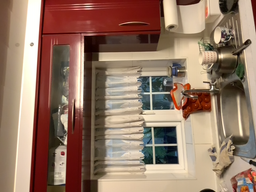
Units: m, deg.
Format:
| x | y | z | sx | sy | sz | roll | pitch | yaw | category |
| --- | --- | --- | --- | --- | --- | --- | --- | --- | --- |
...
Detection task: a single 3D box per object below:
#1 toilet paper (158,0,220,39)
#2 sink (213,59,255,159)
| x | y | z | sx | sy | sz | roll | pitch | yaw | category |
| --- | --- | --- | --- | --- | --- | --- | --- | --- | --- |
| 0.450 | -0.640 | 1.660 | 0.350 | 0.370 | 0.220 | 86 | -177 | -77 | toilet paper |
| 0.760 | 0.100 | 1.390 | 0.420 | 0.190 | 0.560 | 86 | -177 | -78 | sink |
